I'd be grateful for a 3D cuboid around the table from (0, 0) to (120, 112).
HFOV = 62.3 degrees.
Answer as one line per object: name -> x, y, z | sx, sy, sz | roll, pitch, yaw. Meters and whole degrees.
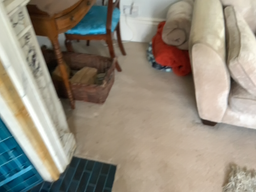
table -> -0.470, -0.550, 1.790 | 0.550, 0.760, 1.050 | 10, 47, 8
